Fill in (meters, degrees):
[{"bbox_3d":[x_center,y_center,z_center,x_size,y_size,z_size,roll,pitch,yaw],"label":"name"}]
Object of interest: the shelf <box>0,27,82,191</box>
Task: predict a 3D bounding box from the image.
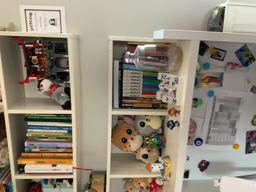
[{"bbox_3d":[-0.400,0.200,1.050,0.210,0.310,1.010,-107,20,-73],"label":"shelf"}]
